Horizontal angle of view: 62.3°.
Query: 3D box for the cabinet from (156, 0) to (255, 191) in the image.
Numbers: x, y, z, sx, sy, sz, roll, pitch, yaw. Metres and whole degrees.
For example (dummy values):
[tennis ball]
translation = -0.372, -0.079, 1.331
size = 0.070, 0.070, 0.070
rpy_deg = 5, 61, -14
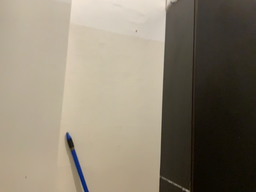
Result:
[cabinet]
translation = 0.440, 0.140, 1.190
size = 0.420, 1.440, 0.340
rpy_deg = 6, -7, -20
